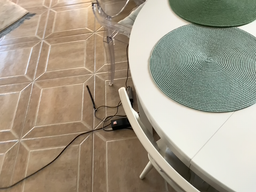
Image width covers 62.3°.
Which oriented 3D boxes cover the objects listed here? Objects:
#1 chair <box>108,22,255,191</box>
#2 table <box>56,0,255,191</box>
[{"bbox_3d":[0.310,0.250,0.840,0.460,0.810,0.450,35,67,26],"label":"chair"},{"bbox_3d":[0.600,0.000,1.010,1.170,0.740,1.150,33,66,25],"label":"table"}]
